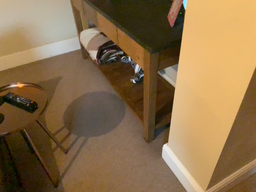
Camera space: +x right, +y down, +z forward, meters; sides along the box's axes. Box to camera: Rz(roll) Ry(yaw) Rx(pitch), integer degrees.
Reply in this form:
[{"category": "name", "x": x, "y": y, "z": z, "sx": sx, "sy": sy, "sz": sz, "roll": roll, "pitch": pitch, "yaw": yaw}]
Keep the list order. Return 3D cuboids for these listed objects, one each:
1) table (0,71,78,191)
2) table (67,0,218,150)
[{"category": "table", "x": -0.610, "y": 0.250, "z": 1.290, "sx": 0.390, "sy": 0.600, "sz": 0.400, "roll": -21, "pitch": 45, "yaw": -20}, {"category": "table", "x": -0.060, "y": -0.430, "z": 1.840, "sx": 0.440, "sy": 0.840, "sz": 1.520, "roll": -20, "pitch": 44, "yaw": -20}]
